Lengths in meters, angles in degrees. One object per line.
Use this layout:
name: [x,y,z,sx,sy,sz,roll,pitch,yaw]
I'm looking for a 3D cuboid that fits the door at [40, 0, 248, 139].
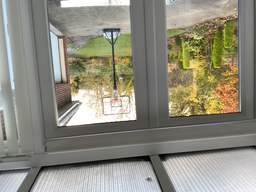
door: [0.130,-0.780,1.450,1.390,2.020,0.160,-4,-173,-7]
